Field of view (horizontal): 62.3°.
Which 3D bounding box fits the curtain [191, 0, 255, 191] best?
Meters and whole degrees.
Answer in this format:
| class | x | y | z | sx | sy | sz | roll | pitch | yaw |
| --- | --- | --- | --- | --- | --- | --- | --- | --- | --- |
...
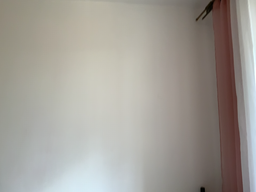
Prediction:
| class | x | y | z | sx | sy | sz | roll | pitch | yaw |
| --- | --- | --- | --- | --- | --- | --- | --- | --- | --- |
| curtain | 0.810 | 0.150 | 1.770 | 0.280 | 2.170 | 0.560 | 1 | -7 | -6 |
